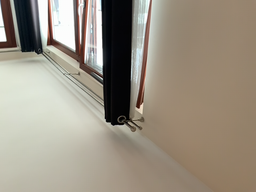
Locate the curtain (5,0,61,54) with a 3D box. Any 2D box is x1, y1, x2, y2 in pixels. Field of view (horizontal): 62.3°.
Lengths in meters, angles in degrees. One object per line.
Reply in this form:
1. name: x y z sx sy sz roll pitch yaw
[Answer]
1. curtain: -1.370 -1.730 2.960 0.490 2.150 0.540 8 -156 10
